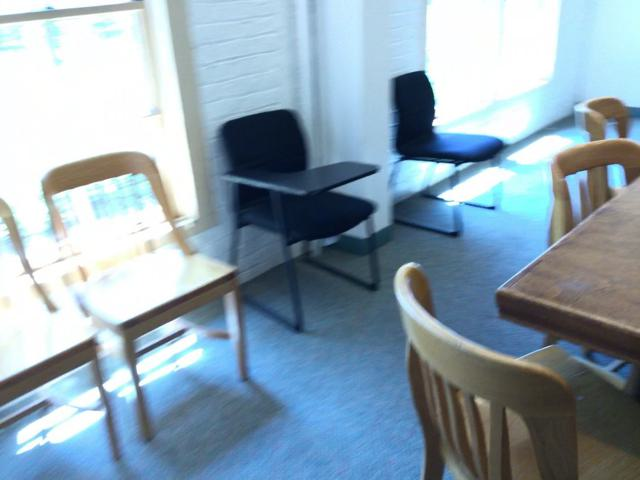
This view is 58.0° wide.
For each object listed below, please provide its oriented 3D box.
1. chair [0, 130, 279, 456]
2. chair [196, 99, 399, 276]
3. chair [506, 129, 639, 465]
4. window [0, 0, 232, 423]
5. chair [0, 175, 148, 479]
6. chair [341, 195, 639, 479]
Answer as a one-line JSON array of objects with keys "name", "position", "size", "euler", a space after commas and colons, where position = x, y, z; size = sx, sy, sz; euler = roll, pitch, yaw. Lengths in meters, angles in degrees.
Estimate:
[{"name": "chair", "position": [-0.620, 0.130, 2.080], "size": [0.580, 0.870, 0.620], "euler": [16, 31, 40]}, {"name": "chair", "position": [-0.080, -0.270, 2.520], "size": [0.600, 0.540, 0.580], "euler": [16, 31, 40]}, {"name": "chair", "position": [0.940, 0.140, 1.790], "size": [0.470, 0.810, 0.560], "euler": [16, 31, 40]}, {"name": "window", "position": [-1.170, -0.130, 1.940], "size": [0.340, 1.450, 1.710], "euler": [16, 31, 40]}, {"name": "chair", "position": [-1.000, 0.310, 1.780], "size": [0.610, 0.840, 0.500], "euler": [16, 31, 40]}, {"name": "chair", "position": [0.460, 0.430, 1.260], "size": [0.610, 0.820, 0.610], "euler": [-11, 24, -13]}]
